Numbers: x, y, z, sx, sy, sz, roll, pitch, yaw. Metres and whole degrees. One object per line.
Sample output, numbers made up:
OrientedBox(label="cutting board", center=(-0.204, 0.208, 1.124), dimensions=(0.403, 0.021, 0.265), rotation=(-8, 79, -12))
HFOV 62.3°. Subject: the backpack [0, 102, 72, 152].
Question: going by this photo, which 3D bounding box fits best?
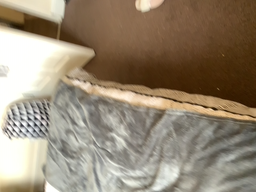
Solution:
OrientedBox(label="backpack", center=(-0.900, 0.270, 2.080), dimensions=(0.370, 0.520, 0.350), rotation=(15, 99, 41))
